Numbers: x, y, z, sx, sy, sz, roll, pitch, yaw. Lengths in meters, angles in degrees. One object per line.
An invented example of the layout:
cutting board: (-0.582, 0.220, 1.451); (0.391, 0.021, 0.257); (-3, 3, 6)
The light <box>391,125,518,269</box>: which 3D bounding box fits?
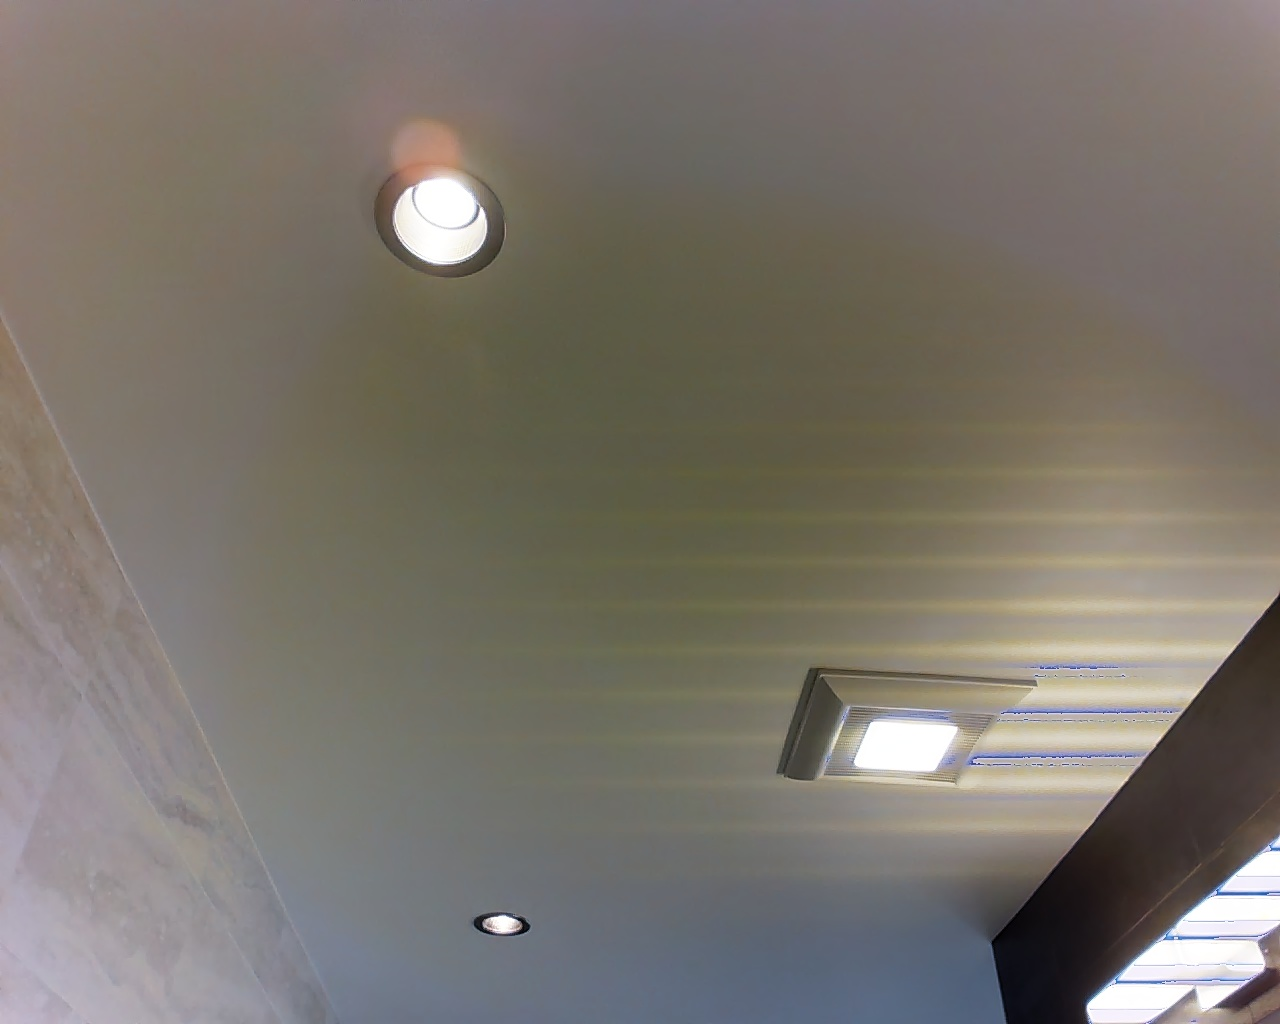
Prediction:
light: (-0.180, -0.310, 1.070); (0.110, 0.040, 0.130); (3, -41, -1)
